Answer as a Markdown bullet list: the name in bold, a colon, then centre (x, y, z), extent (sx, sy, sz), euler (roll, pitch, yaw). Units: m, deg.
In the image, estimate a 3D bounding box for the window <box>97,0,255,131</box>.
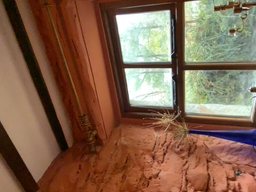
- **window**: centre (0.390, -0.190, 1.430), extent (0.110, 1.050, 0.940), euler (-65, -29, -55)
